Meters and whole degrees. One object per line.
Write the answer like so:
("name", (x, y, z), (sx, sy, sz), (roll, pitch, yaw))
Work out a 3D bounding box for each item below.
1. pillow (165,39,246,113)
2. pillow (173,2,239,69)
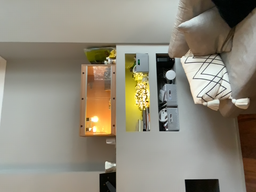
("pillow", (0.690, -0.190, 1.960), (0.560, 0.400, 0.160), (44, 172, 18))
("pillow", (0.670, -0.530, 1.910), (0.440, 0.430, 0.220), (80, 171, -56))
